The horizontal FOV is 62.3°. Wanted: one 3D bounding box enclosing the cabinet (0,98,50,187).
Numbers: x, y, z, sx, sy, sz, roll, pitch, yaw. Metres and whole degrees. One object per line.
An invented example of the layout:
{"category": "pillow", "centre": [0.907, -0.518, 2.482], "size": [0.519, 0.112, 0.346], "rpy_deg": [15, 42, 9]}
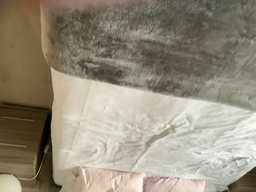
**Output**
{"category": "cabinet", "centre": [-0.930, 0.390, 1.760], "size": [0.430, 0.530, 0.460], "rpy_deg": [9, 137, -13]}
